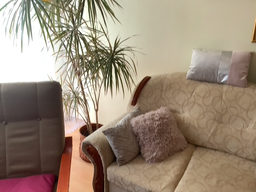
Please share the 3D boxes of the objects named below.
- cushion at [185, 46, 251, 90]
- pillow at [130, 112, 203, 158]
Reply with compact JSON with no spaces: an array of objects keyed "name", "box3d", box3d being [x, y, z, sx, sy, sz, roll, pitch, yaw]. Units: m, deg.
[{"name":"cushion","box3d":[0.750,-0.250,1.800,0.460,0.270,0.180,13,25,27]},{"name":"pillow","box3d":[0.280,0.320,1.680,0.480,0.370,0.150,-9,61,-10]}]
